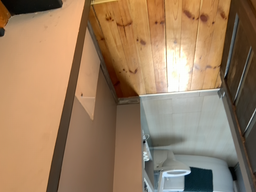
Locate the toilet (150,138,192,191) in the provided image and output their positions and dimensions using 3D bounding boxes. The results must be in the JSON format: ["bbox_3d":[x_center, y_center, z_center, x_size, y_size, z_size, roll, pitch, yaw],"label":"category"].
[{"bbox_3d":[0.630,1.120,3.180,0.510,0.860,0.390,-5,147,9],"label":"toilet"}]
